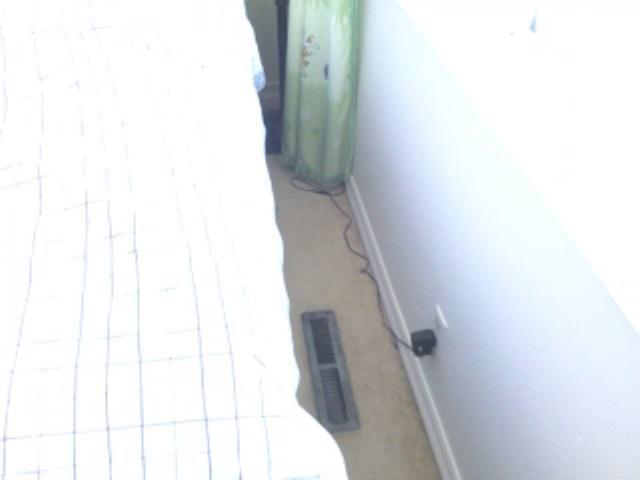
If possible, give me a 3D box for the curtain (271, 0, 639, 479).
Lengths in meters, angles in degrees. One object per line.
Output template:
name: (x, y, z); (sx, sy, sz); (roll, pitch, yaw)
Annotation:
curtain: (0.200, -0.440, 0.760); (0.310, 2.140, 2.550); (-5, 41, -8)
